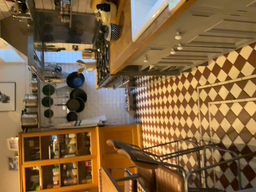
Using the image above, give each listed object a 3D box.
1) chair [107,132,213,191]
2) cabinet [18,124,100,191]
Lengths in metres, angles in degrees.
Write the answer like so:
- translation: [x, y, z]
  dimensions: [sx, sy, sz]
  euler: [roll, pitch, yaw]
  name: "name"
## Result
- translation: [0.300, 0.670, 2.130]
  dimensions: [0.420, 0.950, 0.490]
  euler: [176, 92, -74]
  name: "chair"
- translation: [-1.220, 1.100, 3.850]
  dimensions: [0.330, 1.320, 1.080]
  euler: [163, 104, -73]
  name: "cabinet"
